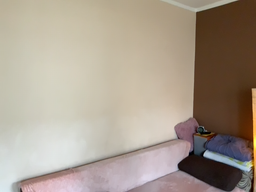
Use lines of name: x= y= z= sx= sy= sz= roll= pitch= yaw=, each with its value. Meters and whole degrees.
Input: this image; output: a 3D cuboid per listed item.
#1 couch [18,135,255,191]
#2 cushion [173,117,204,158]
couch: x=0.210 y=1.000 z=2.020 sx=2.080 sy=0.750 sz=1.010 roll=-3 pitch=5 yaw=-37
cushion: x=0.860 y=0.570 z=3.010 sx=0.430 sy=0.480 sz=0.180 roll=-2 pitch=5 yaw=-35
